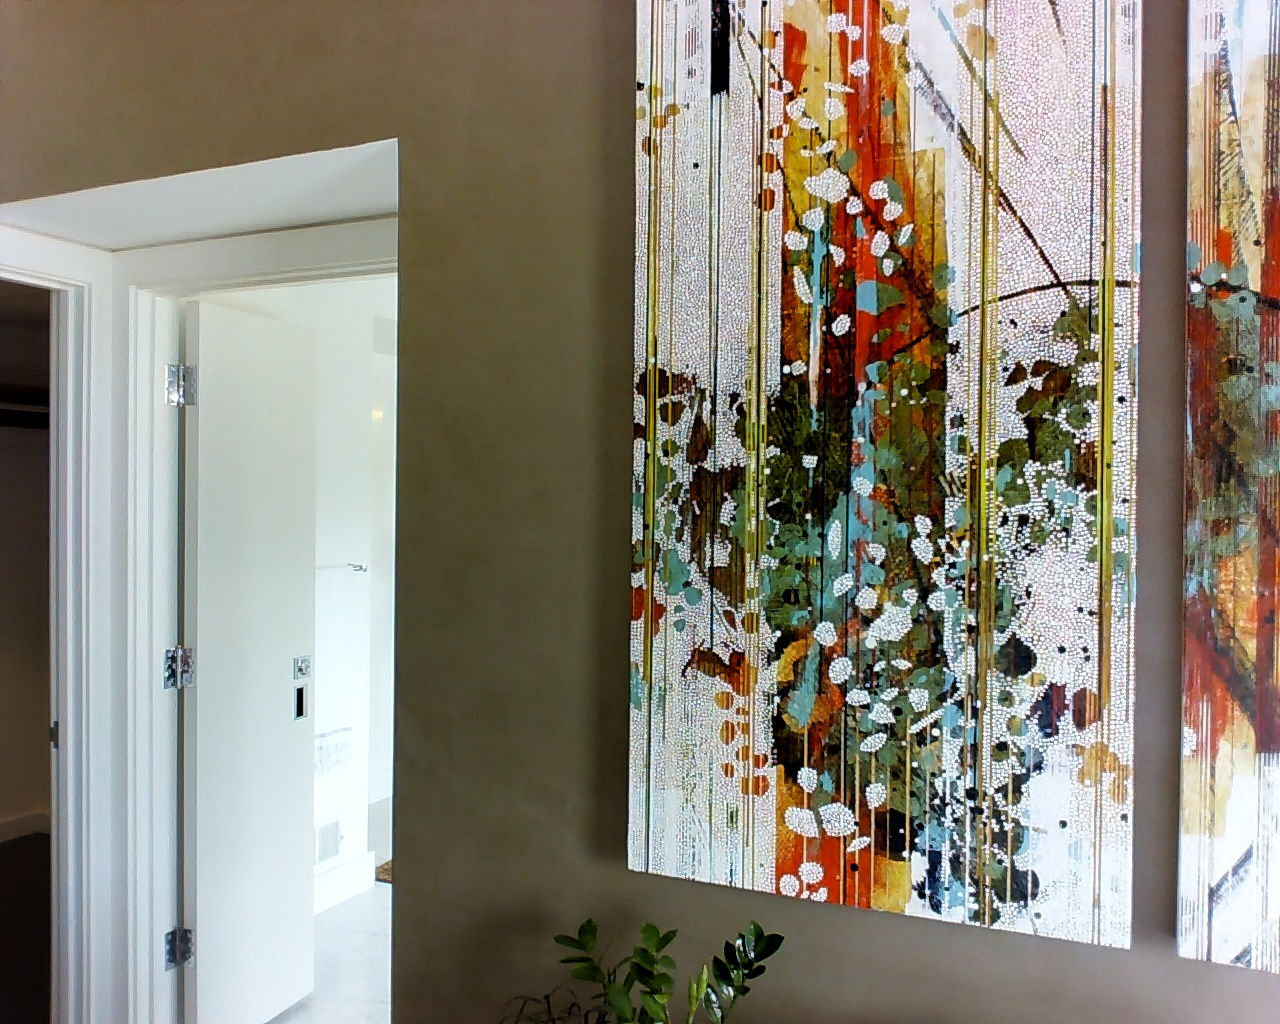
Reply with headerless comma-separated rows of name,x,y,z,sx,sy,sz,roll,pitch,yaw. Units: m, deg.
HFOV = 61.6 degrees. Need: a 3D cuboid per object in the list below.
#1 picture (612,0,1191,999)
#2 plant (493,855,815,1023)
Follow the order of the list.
picture,0.330,-0.130,1.500,0.760,1.440,0.070,1,1,25
plant,0.020,0.790,1.540,0.400,0.470,0.230,1,1,25
